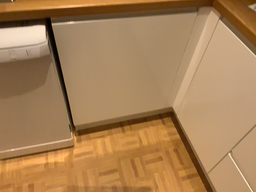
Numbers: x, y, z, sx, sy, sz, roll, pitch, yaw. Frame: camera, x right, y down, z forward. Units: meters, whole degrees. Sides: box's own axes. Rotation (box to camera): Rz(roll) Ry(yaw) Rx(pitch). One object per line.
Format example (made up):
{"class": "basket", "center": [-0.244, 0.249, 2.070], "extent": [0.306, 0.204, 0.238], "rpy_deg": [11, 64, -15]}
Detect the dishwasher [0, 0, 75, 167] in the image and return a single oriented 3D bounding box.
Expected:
{"class": "dishwasher", "center": [-0.610, -0.150, 1.160], "extent": [0.460, 0.910, 0.670], "rpy_deg": [-9, 52, -14]}
